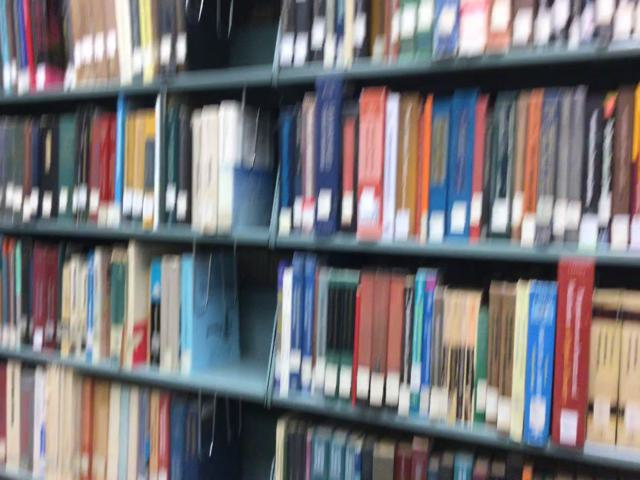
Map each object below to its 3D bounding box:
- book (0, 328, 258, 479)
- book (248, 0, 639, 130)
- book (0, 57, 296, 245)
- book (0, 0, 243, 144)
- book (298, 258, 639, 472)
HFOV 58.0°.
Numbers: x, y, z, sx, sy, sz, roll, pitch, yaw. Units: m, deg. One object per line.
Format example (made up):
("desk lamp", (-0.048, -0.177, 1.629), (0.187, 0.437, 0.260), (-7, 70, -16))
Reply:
("book", (-0.570, 0.420, 1.460), (0.800, 0.330, 0.240), (-1, -1, 22))
("book", (0.310, -0.430, 0.990), (0.880, 0.370, 0.190), (-1, -1, 22))
("book", (-0.540, -0.170, 1.410), (0.940, 0.350, 0.250), (-1, -1, 22))
("book", (-0.590, -0.470, 1.410), (0.780, 0.370, 0.230), (-1, -1, 22))
("book", (0.370, 0.190, 1.010), (0.790, 0.310, 0.220), (-1, -1, 22))
